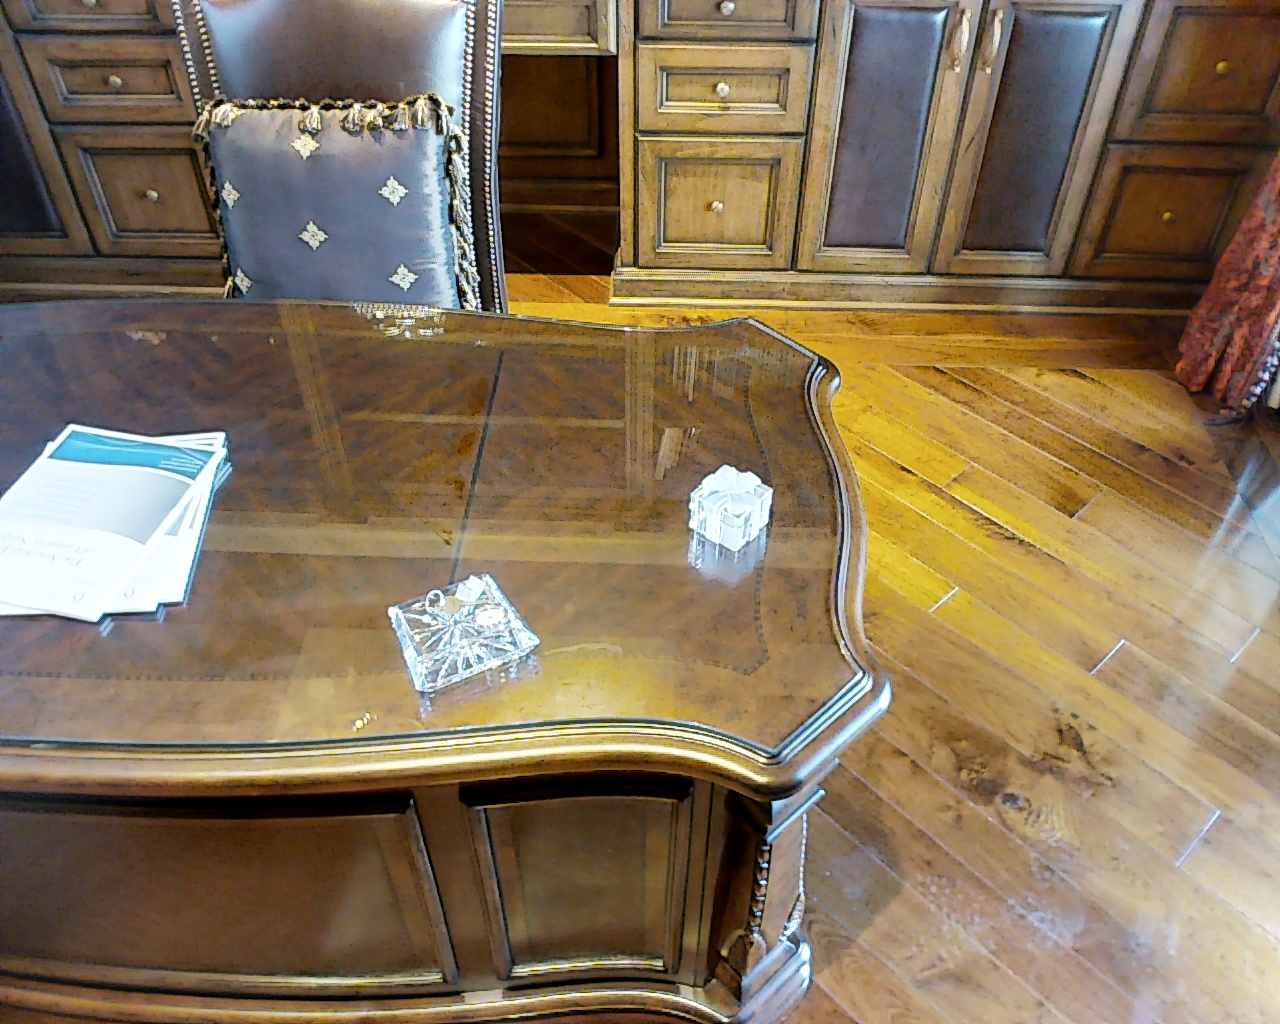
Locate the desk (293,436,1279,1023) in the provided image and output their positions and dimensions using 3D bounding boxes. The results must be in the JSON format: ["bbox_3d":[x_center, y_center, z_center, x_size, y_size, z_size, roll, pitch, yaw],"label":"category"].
[{"bbox_3d":[0.580,0.540,1.440,1.740,0.810,0.950,2,43,2],"label":"desk"}]
